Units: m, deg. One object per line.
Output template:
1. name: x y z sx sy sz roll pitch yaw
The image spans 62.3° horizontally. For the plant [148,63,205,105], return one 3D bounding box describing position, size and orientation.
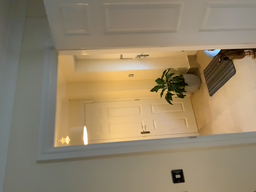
1. plant: 0.790 -0.200 3.640 0.430 0.780 0.540 100 165 -65
